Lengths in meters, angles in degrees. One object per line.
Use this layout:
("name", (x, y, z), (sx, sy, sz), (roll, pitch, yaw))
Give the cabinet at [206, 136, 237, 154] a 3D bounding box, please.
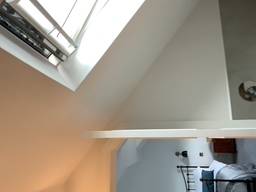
("cabinet", (2.220, 1.170, 5.060), (0.380, 0.570, 0.410), (56, -148, -73))
